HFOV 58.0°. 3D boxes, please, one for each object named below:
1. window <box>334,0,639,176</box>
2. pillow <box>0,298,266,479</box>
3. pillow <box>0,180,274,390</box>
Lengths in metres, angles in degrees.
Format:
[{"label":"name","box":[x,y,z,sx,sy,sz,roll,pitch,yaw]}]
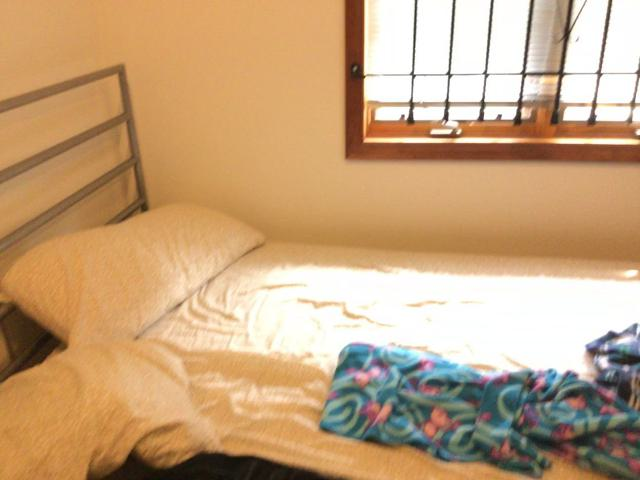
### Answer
[{"label":"window","box":[0.680,-0.880,1.590,1.280,1.390,0.210,1,23,8]},{"label":"pillow","box":[-0.510,0.370,0.990,0.670,0.190,0.750,1,23,8]},{"label":"pillow","box":[-0.480,0.060,1.620,0.530,0.220,0.820,1,23,8]}]
